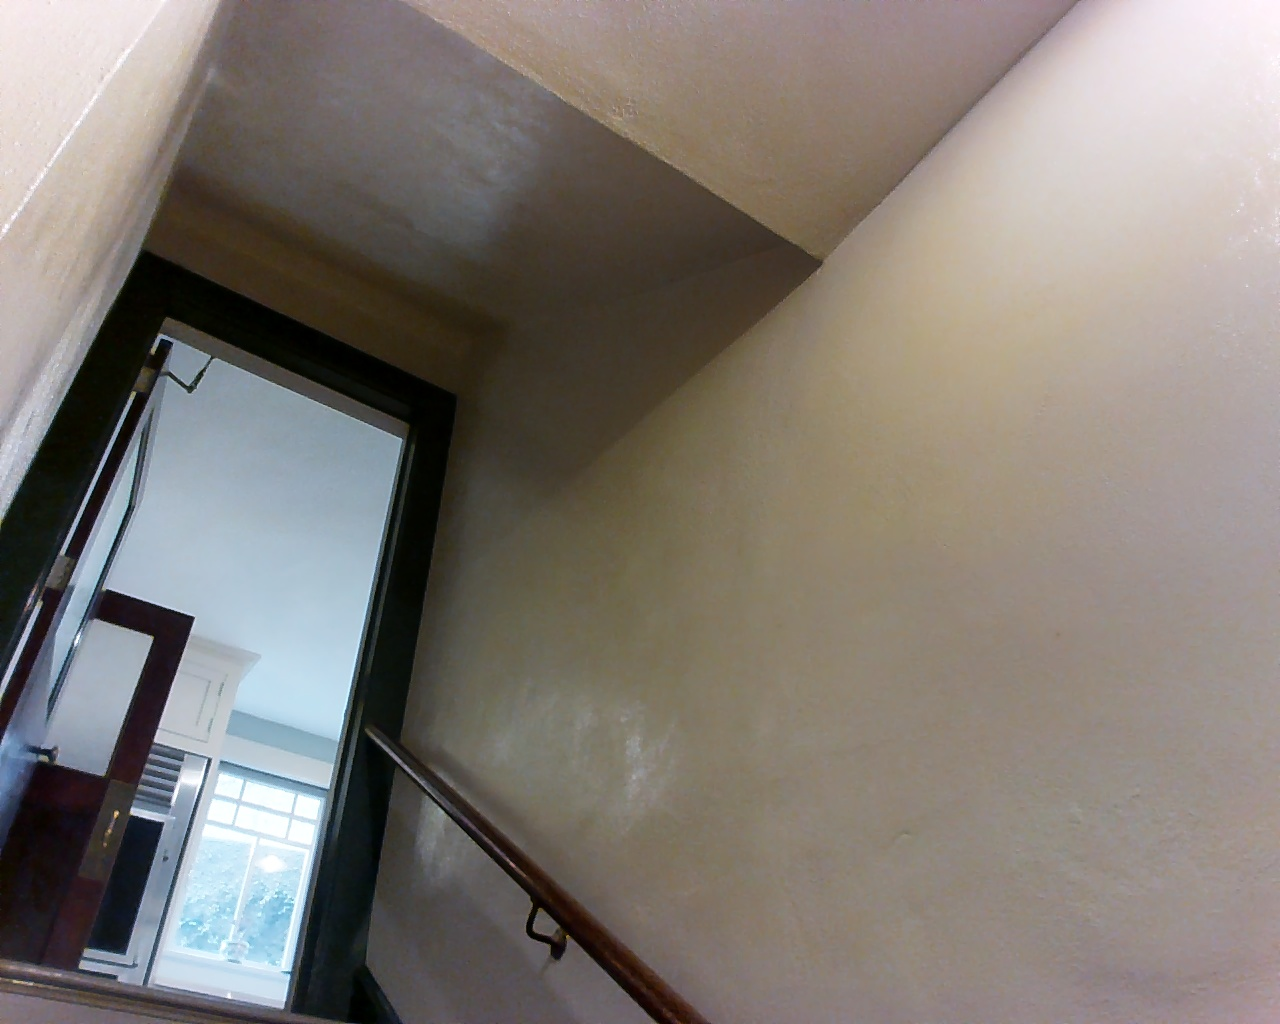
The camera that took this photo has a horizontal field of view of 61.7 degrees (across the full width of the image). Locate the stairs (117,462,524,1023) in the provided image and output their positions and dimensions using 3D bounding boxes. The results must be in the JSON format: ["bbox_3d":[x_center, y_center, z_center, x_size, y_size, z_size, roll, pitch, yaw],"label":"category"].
[{"bbox_3d":[-1.760,1.360,6.170,1.200,2.410,1.900,24,-46,-25],"label":"stairs"}]
